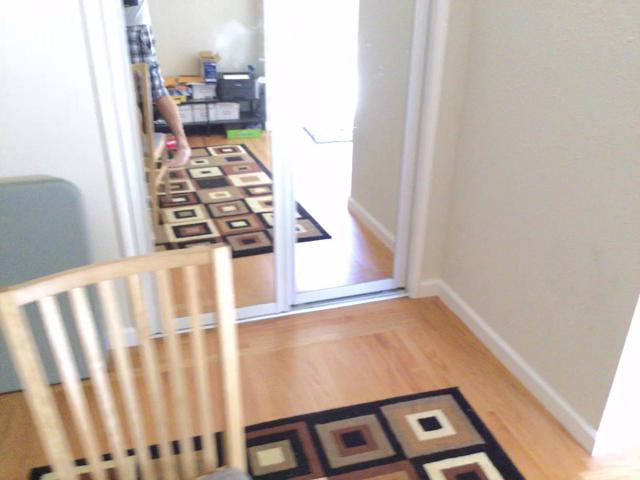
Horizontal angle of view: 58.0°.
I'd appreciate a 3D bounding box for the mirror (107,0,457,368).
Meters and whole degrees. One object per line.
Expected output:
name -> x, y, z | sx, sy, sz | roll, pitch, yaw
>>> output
mirror -> -0.180, -0.610, 2.300 | 1.190, 2.020, 0.620 | -6, 25, -18
